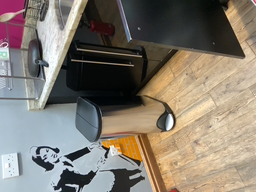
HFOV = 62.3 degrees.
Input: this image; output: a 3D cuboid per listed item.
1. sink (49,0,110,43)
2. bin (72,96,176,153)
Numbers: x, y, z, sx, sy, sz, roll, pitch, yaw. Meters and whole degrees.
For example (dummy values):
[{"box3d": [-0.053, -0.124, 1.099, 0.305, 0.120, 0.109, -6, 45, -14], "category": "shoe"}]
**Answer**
[{"box3d": [-0.290, -0.510, 1.230, 0.180, 0.240, 0.330, -46, 55, 45], "category": "sink"}, {"box3d": [-0.040, 0.170, 1.630, 0.480, 0.620, 0.260, 18, 105, 53], "category": "bin"}]
